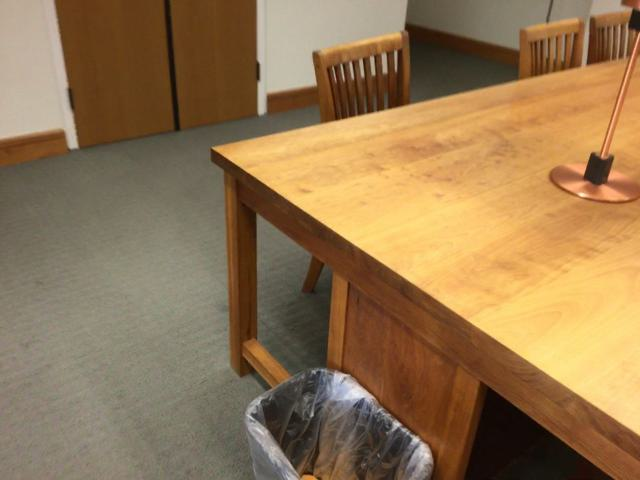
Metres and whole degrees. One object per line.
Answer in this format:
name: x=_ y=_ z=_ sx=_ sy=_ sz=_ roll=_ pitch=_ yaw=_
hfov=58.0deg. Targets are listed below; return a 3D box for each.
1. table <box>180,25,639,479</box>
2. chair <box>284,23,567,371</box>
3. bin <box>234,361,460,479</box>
table: x=1.160 y=-0.060 z=1.950 sx=2.720 sy=0.840 sz=1.510 roll=-20 pitch=37 yaw=-33
chair: x=0.300 y=-0.190 z=2.000 sx=0.590 sy=0.920 sz=0.620 roll=-21 pitch=37 yaw=-33
bin: x=0.040 y=0.570 z=1.260 sx=0.280 sy=0.390 sz=0.370 roll=-21 pitch=37 yaw=-33
